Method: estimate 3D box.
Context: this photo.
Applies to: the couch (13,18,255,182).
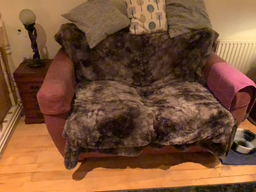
[{"bbox_3d":[0.120,-0.070,1.800,1.520,0.930,1.020,-2,32,-6],"label":"couch"}]
